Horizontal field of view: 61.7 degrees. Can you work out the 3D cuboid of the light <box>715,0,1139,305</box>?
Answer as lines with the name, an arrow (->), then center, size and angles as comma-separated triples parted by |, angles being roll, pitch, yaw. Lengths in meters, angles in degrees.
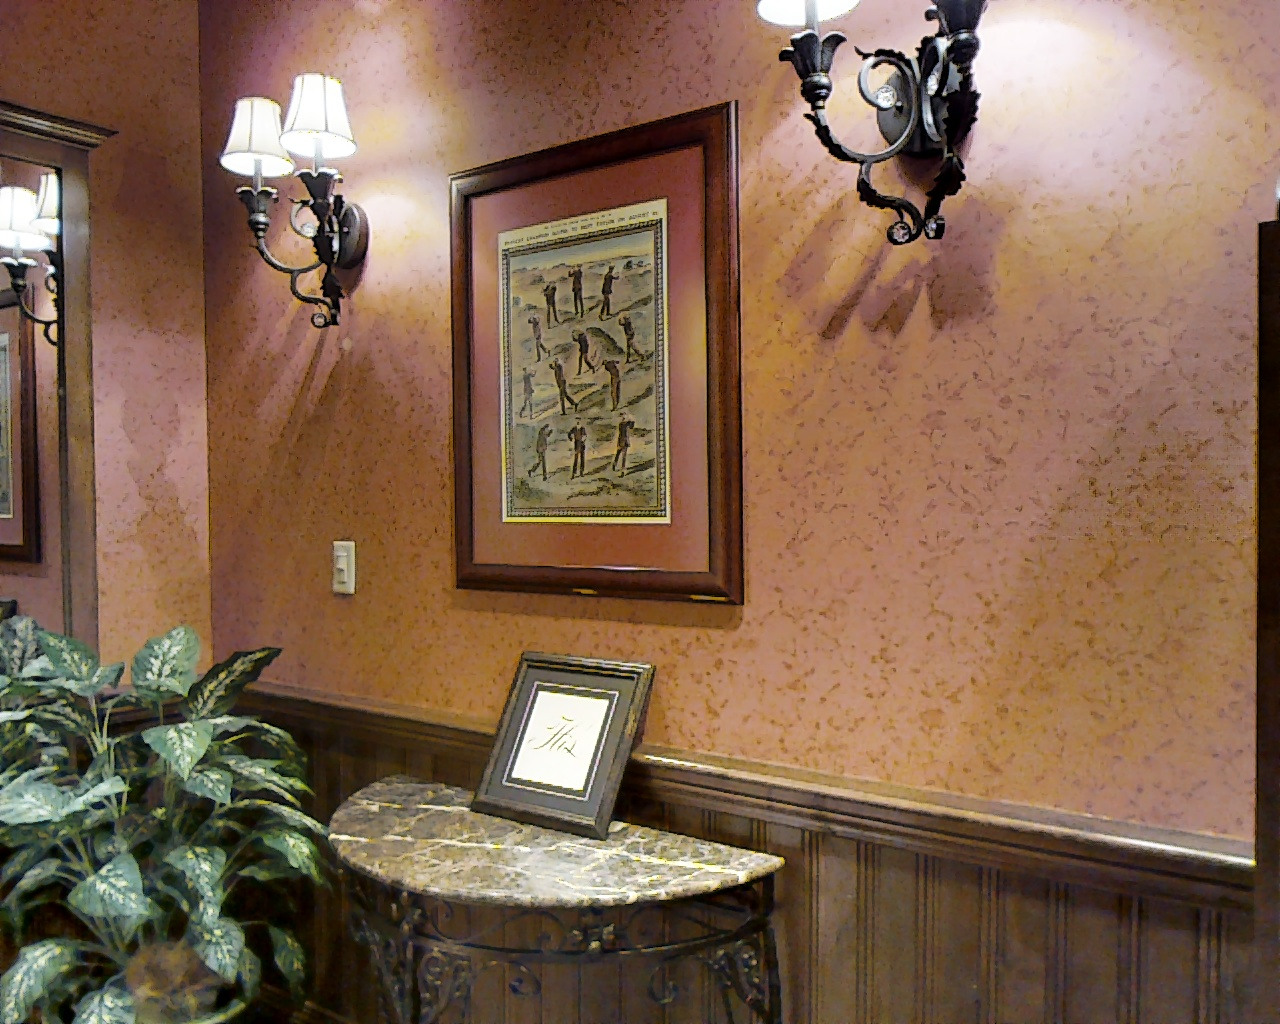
light -> 0.400, -0.650, 1.520 | 0.520, 0.620, 0.270 | 0, 1, 35
